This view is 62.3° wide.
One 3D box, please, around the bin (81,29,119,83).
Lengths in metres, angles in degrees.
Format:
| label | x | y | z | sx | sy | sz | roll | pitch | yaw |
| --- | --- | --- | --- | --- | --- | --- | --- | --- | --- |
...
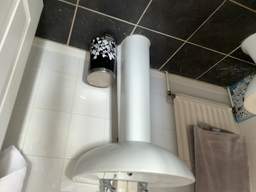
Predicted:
| label | x | y | z | sx | sy | sz | roll | pitch | yaw |
| --- | --- | --- | --- | --- | --- | --- | --- | --- | --- |
| bin | -0.170 | -0.240 | 1.300 | 0.190 | 0.240 | 0.170 | 7 | 153 | -13 |

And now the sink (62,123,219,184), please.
| label | x | y | z | sx | sy | sz | roll | pitch | yaw |
| --- | --- | --- | --- | --- | --- | --- | --- | --- | --- |
| sink | 0.030 | 0.310 | 1.010 | 0.600 | 0.160 | 0.420 | 11 | 152 | -19 |
